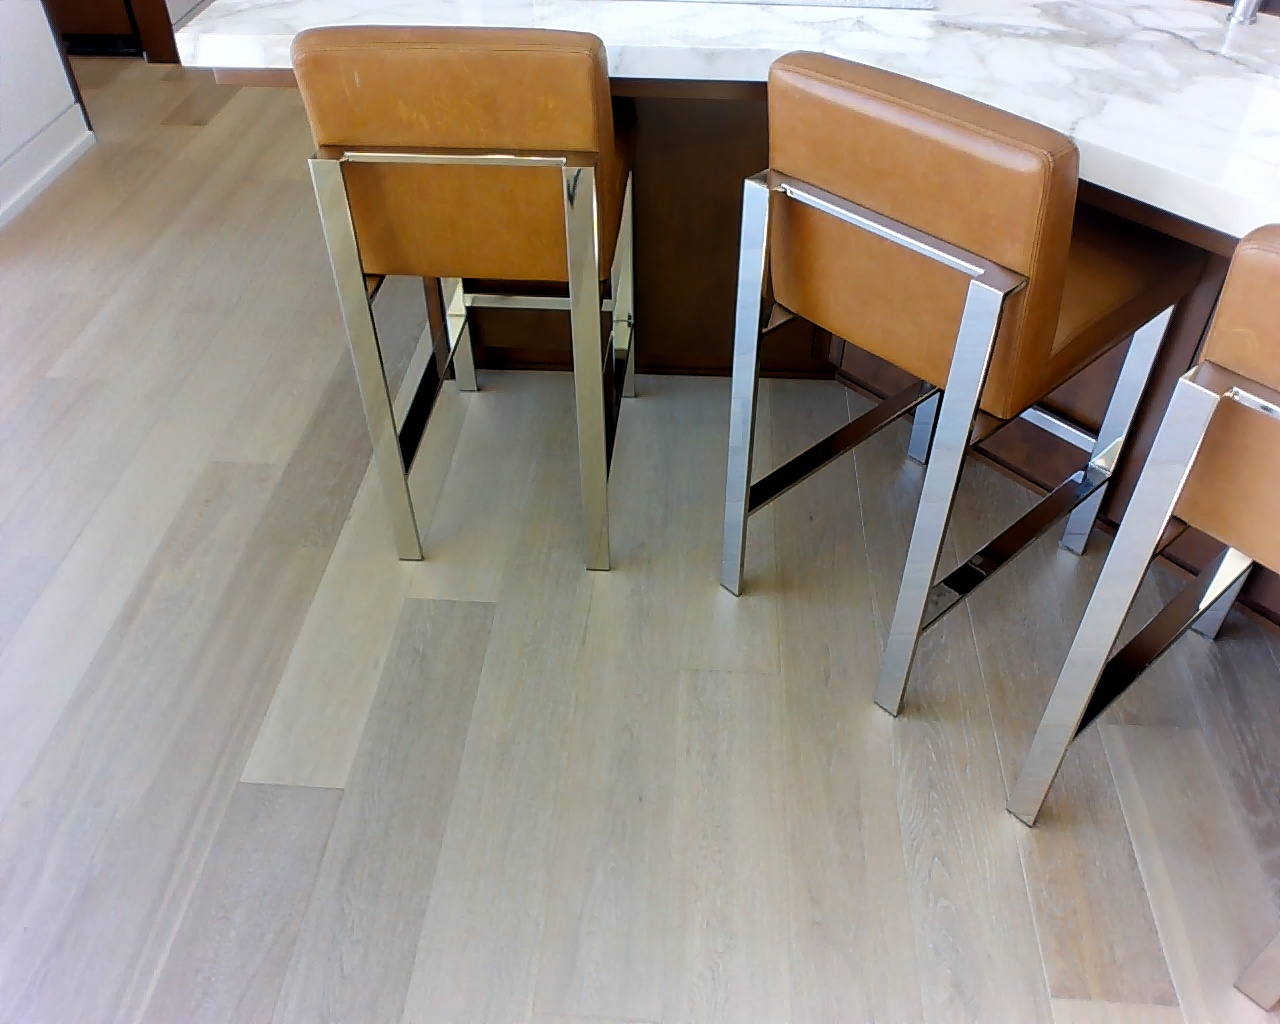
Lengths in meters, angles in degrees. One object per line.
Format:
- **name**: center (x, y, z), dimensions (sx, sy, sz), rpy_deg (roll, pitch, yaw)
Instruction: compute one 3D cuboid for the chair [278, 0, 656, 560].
- **chair**: center (-0.250, -0.510, 2.140), dimensions (0.520, 1.030, 0.640), rpy_deg (3, 41, 3)
